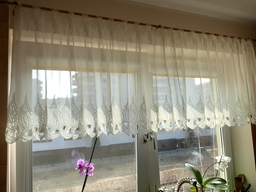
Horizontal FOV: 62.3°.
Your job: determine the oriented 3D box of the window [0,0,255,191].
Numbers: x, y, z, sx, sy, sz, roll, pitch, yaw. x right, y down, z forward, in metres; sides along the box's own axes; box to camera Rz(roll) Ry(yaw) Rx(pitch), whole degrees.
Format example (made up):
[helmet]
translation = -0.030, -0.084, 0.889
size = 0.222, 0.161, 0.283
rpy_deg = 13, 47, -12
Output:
[window]
translation = 0.230, 0.230, 1.480
size = 2.000, 1.520, 0.080
rpy_deg = 0, -7, -23
